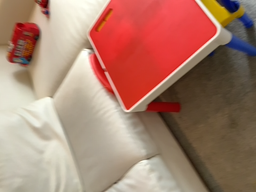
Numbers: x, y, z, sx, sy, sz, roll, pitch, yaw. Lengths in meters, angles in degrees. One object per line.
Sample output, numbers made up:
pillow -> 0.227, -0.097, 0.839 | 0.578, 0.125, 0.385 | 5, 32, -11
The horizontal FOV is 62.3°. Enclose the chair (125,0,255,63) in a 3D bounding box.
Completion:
chair -> 0.280, -0.400, 0.960 | 0.280, 0.460, 0.350 | -46, 62, 32
